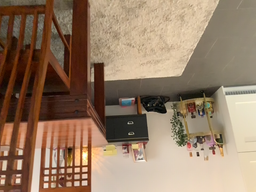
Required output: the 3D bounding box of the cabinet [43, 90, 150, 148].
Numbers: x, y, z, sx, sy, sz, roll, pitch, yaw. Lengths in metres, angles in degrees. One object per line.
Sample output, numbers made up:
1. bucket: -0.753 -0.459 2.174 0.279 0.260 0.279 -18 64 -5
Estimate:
1. cabinet: -0.410 0.340 2.980 1.340 0.650 0.470 -3 161 -2
